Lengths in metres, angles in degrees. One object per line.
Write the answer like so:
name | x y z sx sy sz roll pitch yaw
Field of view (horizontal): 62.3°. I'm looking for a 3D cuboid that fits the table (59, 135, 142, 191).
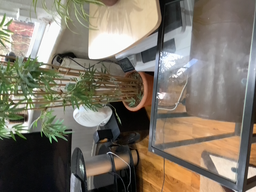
table | -0.260 0.940 1.890 0.560 0.540 1.060 -2 88 54
